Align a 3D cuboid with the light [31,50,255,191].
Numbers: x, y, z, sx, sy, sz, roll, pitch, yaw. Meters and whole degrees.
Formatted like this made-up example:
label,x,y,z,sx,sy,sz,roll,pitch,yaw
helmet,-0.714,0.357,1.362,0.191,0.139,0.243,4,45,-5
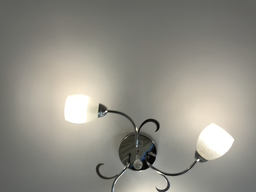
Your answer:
label,x,y,z,sx,sy,sz,roll,pitch,yaw
light,0.030,0.280,0.740,0.640,0.600,0.200,-63,2,26
